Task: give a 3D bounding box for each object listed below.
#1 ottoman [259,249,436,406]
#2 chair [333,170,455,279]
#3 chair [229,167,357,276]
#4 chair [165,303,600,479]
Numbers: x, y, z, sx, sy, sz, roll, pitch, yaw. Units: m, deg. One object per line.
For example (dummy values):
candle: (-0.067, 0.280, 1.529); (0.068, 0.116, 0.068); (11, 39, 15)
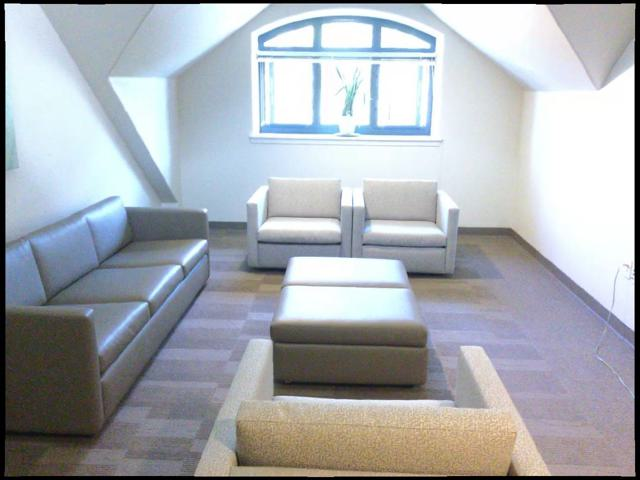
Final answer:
ottoman: (0.140, 0.441, 3.440); (0.848, 0.391, 1.310); (2, 15, 1)
chair: (0.599, -0.170, 5.110); (0.938, 0.741, 0.900); (2, 15, 0)
chair: (-0.220, -0.200, 5.090); (1.008, 0.721, 0.950); (2, 15, 0)
chair: (0.130, 0.721, 1.760); (0.938, 0.751, 0.860); (2, 15, 1)
